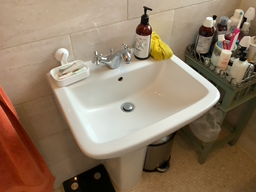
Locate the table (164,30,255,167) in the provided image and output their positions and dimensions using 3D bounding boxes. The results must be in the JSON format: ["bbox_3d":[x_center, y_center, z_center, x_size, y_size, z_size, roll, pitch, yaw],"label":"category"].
[{"bbox_3d":[0.540,0.040,1.380,0.370,0.760,0.360,-21,47,-22],"label":"table"}]
